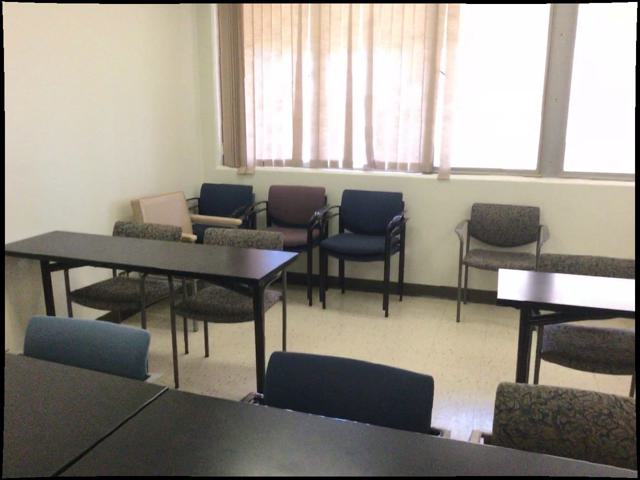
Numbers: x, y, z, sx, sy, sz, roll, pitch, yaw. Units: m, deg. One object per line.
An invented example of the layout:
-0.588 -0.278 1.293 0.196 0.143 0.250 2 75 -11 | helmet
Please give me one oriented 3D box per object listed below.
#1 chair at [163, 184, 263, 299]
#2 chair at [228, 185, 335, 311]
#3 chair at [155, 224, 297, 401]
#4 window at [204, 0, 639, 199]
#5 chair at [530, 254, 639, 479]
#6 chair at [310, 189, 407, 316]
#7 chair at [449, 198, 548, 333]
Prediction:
-0.798 -0.020 4.440 0.489 0.722 0.650 5 14 18 | chair
-0.279 0.030 4.360 0.629 0.792 0.560 5 14 18 | chair
-0.489 0.361 3.210 0.559 0.762 0.620 4 14 13 | chair
1.636 -1.043 3.960 5.328 1.434 0.200 5 14 18 | window
1.277 0.551 2.640 0.499 0.802 0.620 5 14 18 | chair
0.289 0.060 4.200 0.539 0.752 0.640 5 14 18 | chair
1.207 0.140 3.920 0.539 0.742 0.590 5 14 18 | chair
